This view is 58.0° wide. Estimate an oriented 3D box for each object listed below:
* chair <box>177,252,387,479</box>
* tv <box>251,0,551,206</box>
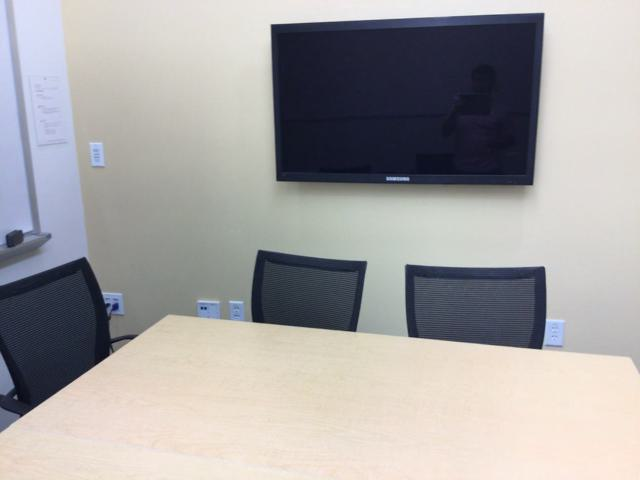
[{"bbox_3d":[-0.070,0.580,1.940,0.440,0.960,0.600,-1,12,17],"label":"chair"},{"bbox_3d":[0.320,-0.550,2.340,1.130,0.770,0.200,-1,12,17],"label":"tv"}]
